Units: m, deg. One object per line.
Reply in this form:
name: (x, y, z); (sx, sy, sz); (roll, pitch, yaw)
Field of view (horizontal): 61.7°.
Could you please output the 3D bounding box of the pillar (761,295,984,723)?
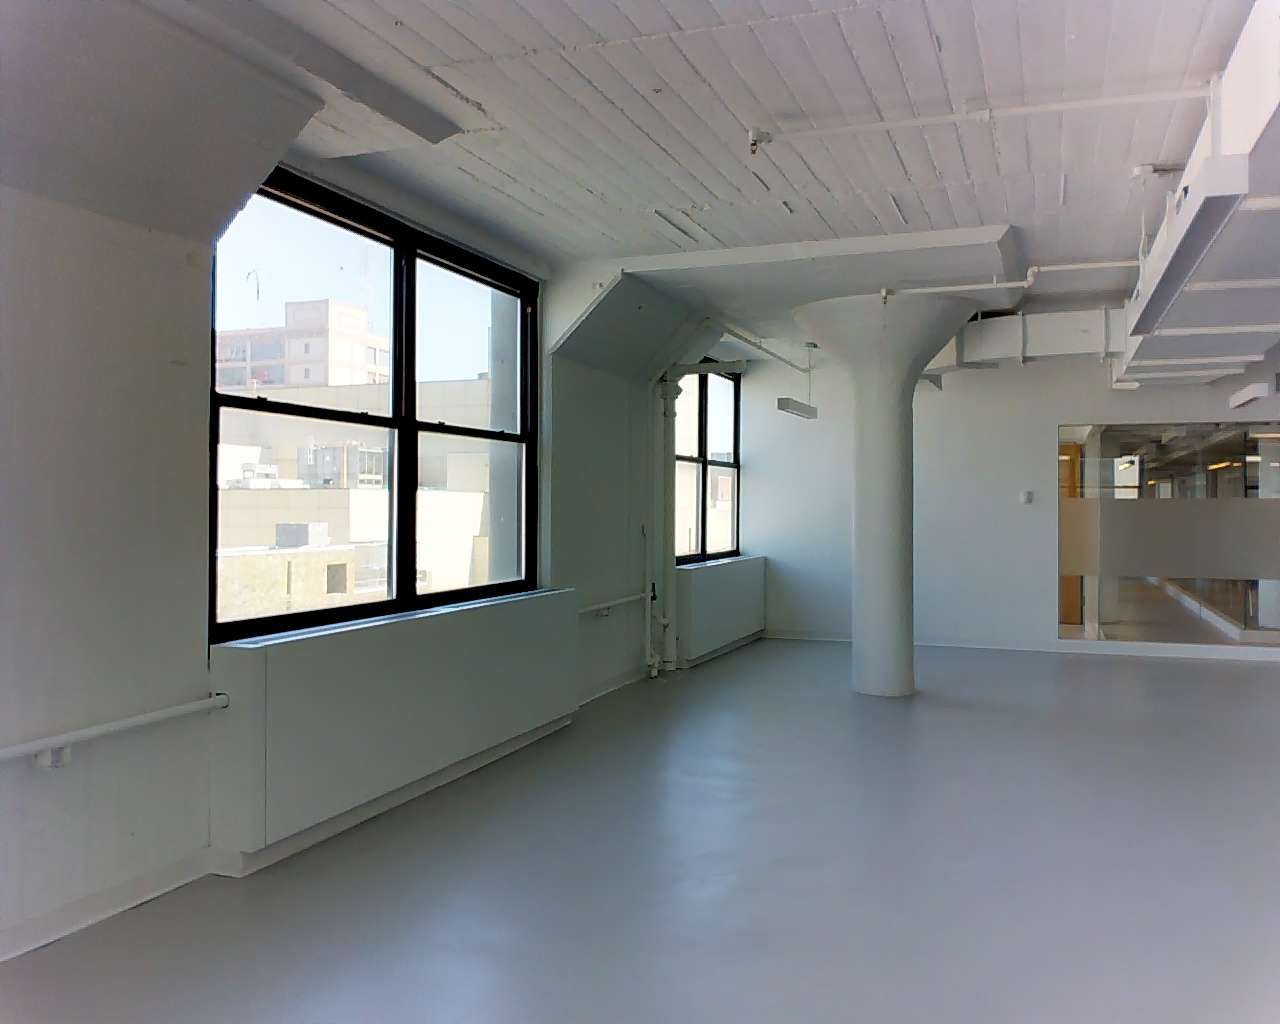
pillar: (1.800, -0.020, 8.150); (1.430, 2.901, 1.280); (0, 0, 24)
